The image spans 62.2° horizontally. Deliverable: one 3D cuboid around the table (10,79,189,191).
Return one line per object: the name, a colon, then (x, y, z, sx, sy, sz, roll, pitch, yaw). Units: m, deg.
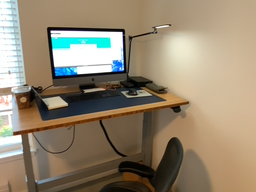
table: (-0.260, 0.510, 1.880, 1.240, 1.080, 0.780, -8, 20, -28)

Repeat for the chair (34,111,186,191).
chair: (-0.040, 0.720, 1.430, 0.680, 0.950, 0.740, 7, 18, 18)
